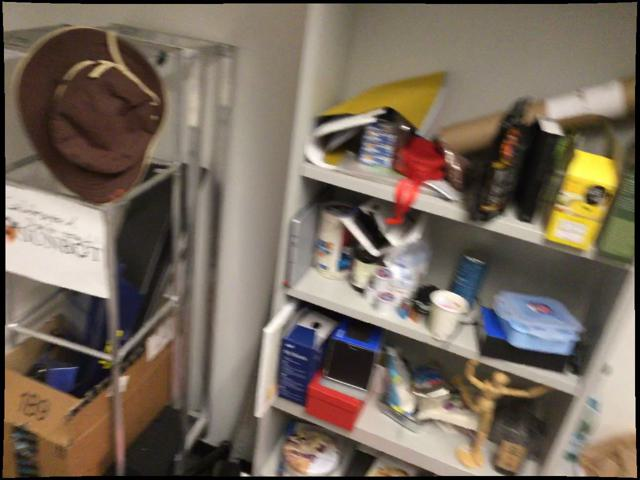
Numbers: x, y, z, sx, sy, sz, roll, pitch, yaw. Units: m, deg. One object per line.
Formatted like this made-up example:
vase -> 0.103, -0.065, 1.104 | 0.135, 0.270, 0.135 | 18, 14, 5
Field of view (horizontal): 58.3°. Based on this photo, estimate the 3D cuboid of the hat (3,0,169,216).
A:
hat -> -0.450, -0.260, 1.110 | 0.240, 0.340, 0.220 | -8, 34, -30

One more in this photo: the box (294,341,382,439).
box -> 0.050, 0.400, 1.550 | 0.170, 0.120, 0.180 | 18, 30, 13

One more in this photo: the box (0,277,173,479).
box -> -0.639, 0.390, 1.510 | 0.310, 0.360, 0.400 | 18, 30, 13

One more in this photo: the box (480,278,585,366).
box -> 0.470, 0.180, 1.290 | 0.190, 0.080, 0.150 | 14, 29, 6
